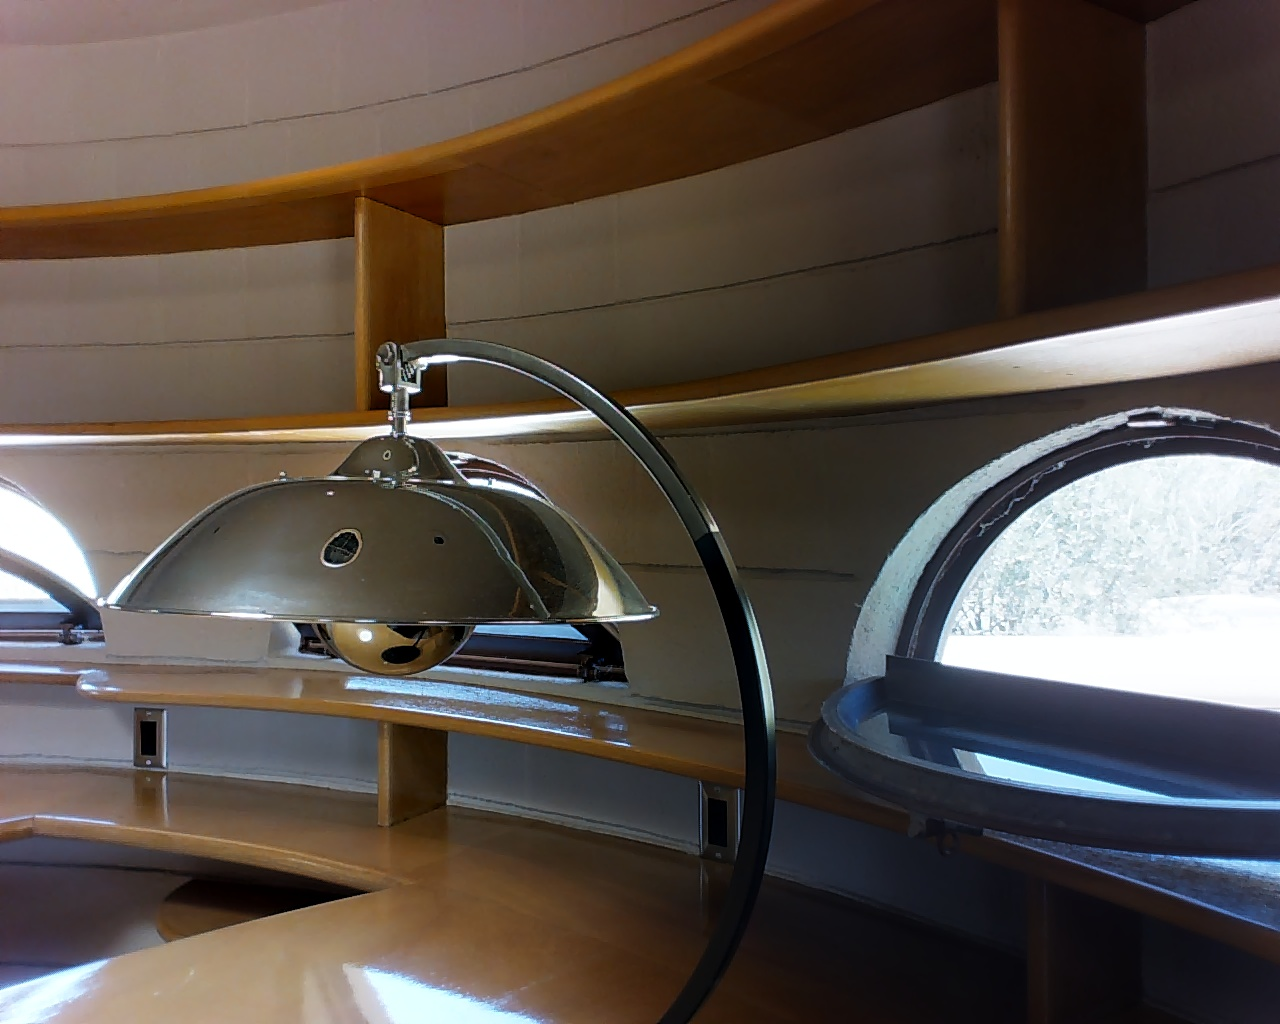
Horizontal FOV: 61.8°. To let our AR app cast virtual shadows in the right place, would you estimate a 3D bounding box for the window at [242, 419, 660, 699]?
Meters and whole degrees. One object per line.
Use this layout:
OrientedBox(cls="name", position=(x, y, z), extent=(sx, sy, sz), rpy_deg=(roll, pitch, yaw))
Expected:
OrientedBox(cls="window", position=(-0.340, 0.070, 1.840), extent=(0.740, 0.420, 0.170), rpy_deg=(0, 0, 25))
